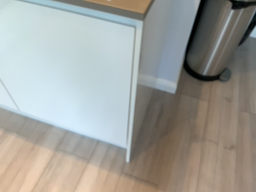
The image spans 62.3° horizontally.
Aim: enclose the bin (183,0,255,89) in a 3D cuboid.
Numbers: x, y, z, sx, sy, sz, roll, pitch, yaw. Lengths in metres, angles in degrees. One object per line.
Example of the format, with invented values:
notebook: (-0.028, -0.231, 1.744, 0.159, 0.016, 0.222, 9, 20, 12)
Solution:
bin: (0.610, -0.420, 1.340, 0.310, 0.660, 0.340, 16, 53, 9)
